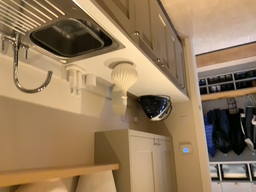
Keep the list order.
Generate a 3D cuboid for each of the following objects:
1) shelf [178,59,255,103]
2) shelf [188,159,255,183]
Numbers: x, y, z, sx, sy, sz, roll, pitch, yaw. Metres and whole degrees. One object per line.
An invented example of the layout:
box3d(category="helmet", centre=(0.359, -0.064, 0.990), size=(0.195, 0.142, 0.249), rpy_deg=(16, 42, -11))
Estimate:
box3d(category="shelf", centre=(1.810, -0.250, 4.160), size=(1.470, 0.510, 0.550), rpy_deg=(-9, 164, 26))
box3d(category="shelf", centre=(1.880, 1.320, 3.790), size=(1.470, 0.350, 0.440), rpy_deg=(-9, 164, 26))
